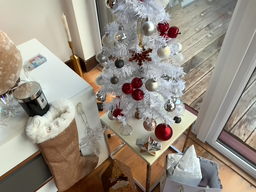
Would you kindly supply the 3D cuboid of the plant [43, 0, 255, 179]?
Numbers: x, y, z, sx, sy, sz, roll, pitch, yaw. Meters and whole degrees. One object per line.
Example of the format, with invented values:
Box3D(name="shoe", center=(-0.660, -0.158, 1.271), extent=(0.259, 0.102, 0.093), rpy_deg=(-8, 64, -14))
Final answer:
Box3D(name="plant", center=(0.050, -0.150, 0.750), extent=(0.380, 0.630, 0.530), rpy_deg=(-35, 56, -27))
